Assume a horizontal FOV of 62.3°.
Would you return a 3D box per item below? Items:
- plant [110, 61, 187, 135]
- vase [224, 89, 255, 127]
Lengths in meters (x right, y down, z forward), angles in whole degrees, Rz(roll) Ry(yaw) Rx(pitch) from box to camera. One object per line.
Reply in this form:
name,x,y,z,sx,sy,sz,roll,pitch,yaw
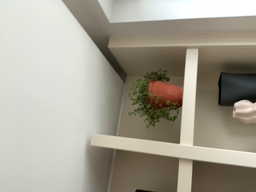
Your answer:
plant,0.130,0.020,1.080,0.310,0.310,0.280,50,-134,-66
vase,0.560,0.060,0.930,0.150,0.230,0.130,46,-130,-67
